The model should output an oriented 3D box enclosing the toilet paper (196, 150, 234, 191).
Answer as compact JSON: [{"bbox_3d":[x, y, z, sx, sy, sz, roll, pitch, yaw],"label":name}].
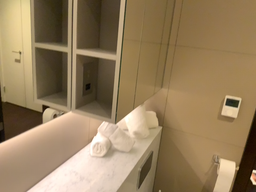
[{"bbox_3d":[0.600,0.530,1.460,0.190,0.240,0.110,14,19,23],"label":"toilet paper"}]
